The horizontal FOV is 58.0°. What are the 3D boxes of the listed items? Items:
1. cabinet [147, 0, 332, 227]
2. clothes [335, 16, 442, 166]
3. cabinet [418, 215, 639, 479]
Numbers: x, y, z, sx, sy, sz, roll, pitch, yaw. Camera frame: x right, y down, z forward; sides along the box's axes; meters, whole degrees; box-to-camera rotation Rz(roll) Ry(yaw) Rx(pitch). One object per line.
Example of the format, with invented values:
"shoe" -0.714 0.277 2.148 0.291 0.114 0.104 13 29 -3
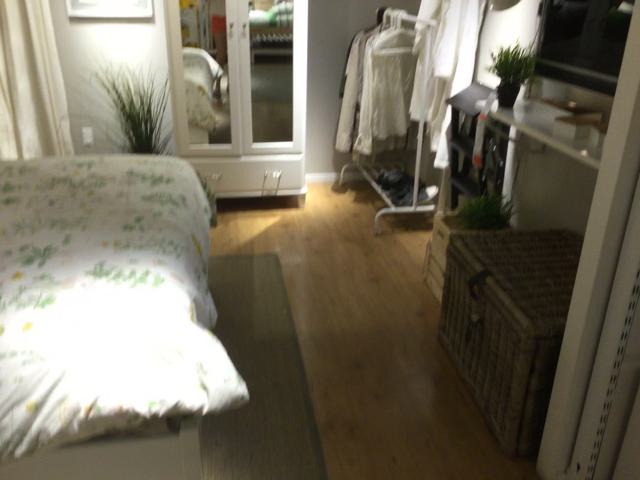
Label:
"cabinet" -0.510 -1.220 3.510 0.990 2.090 0.750 -4 24 -13
"clothes" 0.410 -0.940 3.660 0.560 0.880 0.260 -3 23 -11
"cabinet" 0.780 0.310 2.080 0.540 0.520 0.830 -3 23 -11
